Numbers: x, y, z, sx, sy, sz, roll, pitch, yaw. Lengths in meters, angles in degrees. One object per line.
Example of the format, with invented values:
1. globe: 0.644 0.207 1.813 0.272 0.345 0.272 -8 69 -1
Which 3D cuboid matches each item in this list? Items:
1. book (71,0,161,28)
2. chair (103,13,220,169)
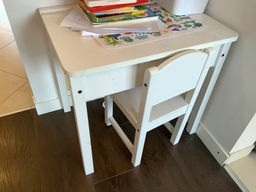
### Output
1. book: -0.060 -0.400 0.770 0.260 0.160 0.280 -14 46 -19
2. chair: 0.090 -0.010 0.900 0.270 0.540 0.300 -19 47 -23
